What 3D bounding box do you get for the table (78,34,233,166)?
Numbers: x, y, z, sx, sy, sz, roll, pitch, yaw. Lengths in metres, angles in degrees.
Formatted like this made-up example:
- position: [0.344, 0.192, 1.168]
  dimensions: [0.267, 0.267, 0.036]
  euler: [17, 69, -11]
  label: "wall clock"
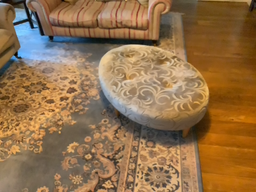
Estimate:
- position: [0.150, -0.080, 1.800]
  dimensions: [0.720, 0.350, 1.060]
  euler: [-23, 46, -23]
  label: "table"
